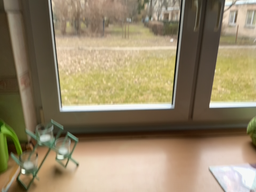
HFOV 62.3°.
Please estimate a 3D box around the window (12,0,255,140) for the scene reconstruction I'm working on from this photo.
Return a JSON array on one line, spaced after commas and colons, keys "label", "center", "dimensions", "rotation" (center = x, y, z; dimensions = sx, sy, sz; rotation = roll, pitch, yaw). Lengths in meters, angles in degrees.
[{"label": "window", "center": [0.290, -0.580, 0.950], "dimensions": [1.510, 1.570, 0.210], "rotation": [-2, 21, -7]}]
